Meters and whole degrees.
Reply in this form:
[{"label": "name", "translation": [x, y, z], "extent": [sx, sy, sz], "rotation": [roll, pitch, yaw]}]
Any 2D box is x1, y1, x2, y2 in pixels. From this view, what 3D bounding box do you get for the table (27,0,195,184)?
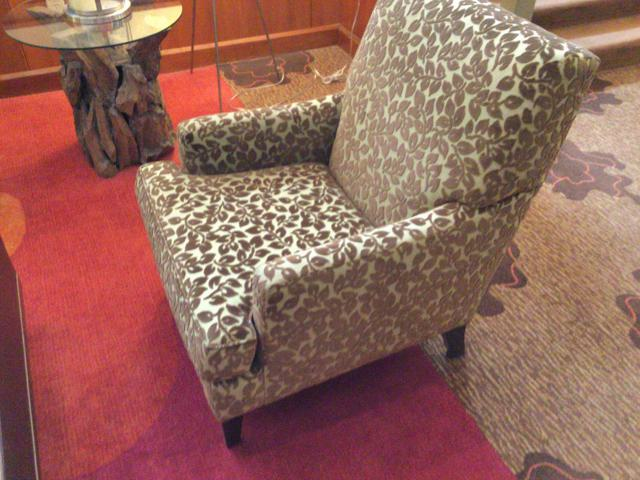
[{"label": "table", "translation": [-0.830, -0.640, 2.340], "extent": [0.490, 0.590, 0.450], "rotation": [-15, 44, -22]}]
